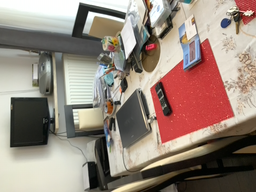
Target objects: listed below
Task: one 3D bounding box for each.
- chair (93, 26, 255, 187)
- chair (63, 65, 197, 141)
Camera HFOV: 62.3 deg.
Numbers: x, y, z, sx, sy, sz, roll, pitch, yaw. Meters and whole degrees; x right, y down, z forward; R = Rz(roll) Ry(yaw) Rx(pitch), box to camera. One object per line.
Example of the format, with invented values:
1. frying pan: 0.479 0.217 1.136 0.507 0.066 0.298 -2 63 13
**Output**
1. chair: 0.420 0.060 1.080 0.350 1.070 0.560 134 130 -56
2. chair: -0.010 0.080 2.000 0.560 1.060 0.420 125 138 -50
